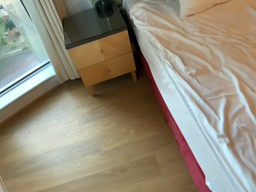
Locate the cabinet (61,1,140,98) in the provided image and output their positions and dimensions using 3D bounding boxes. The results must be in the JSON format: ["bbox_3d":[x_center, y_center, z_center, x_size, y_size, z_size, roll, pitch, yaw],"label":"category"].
[{"bbox_3d":[-0.250,-0.430,2.010,0.510,0.610,0.490,-20,47,-3],"label":"cabinet"}]
